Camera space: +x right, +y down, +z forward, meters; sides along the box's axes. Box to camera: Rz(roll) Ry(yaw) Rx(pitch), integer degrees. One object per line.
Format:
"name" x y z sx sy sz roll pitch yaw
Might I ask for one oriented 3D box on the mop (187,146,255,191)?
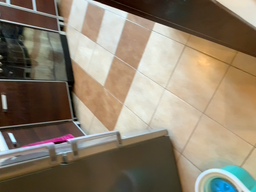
"mop" 0.580 0.540 1.080 0.420 0.210 0.330 44 120 35
